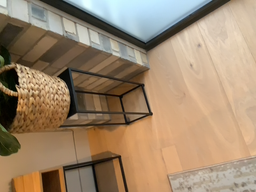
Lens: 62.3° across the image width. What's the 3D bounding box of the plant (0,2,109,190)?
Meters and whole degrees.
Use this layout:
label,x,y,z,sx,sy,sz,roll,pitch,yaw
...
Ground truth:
label,x,y,z,sx,sy,sz,roll,pitch,yaw
plant,-0.570,0.000,0.700,0.560,0.720,0.440,-51,57,22
